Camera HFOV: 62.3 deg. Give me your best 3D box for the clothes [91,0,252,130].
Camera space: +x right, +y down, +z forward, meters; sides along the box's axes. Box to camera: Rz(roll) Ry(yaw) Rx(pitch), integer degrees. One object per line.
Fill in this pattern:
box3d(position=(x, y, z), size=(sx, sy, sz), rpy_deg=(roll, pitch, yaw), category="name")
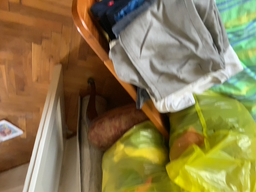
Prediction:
box3d(position=(0.150, -0.100, 0.630), size=(0.320, 0.130, 0.420), rpy_deg=(-24, 135, 18), category="clothes")
